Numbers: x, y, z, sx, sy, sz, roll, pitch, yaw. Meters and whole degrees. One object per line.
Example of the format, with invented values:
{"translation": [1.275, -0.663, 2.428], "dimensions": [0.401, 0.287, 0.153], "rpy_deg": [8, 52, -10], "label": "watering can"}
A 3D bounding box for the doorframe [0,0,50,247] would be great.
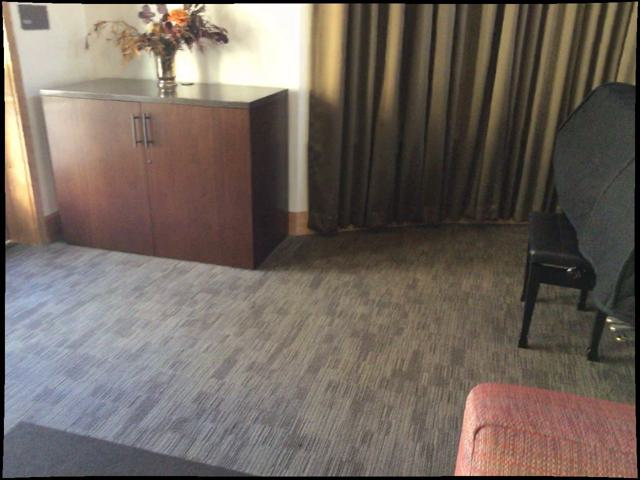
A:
{"translation": [-1.718, -0.831, 3.140], "dimensions": [0.280, 1.792, 0.090], "rpy_deg": [7, 20, 12], "label": "doorframe"}

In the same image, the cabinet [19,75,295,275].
{"translation": [-0.899, -0.420, 3.370], "dimensions": [1.369, 0.921, 0.580], "rpy_deg": [7, 20, 12], "label": "cabinet"}
